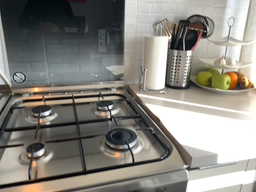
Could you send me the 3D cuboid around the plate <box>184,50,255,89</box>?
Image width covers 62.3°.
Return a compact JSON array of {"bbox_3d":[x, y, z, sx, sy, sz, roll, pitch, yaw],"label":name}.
[{"bbox_3d":[0.450,-0.140,1.060,0.260,0.150,0.170,-4,21,-17],"label":"plate"}]
